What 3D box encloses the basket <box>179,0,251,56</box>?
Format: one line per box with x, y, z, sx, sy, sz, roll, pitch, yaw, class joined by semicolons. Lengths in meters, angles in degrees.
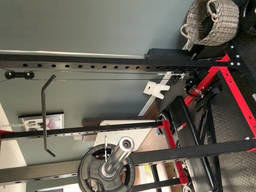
0.750;-0.660;1.920;0.450;0.300;0.360;118;146;-52;basket
